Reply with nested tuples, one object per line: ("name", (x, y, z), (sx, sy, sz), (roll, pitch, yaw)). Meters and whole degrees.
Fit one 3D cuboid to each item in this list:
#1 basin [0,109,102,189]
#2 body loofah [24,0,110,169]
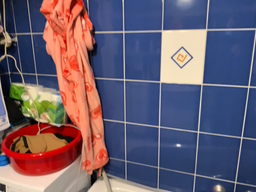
("basin", (-0.450, 0.250, 1.180), (0.460, 0.190, 0.390), (6, 17, 23))
("body loofah", (-0.330, -0.110, 1.210), (0.410, 1.030, 0.130), (5, 16, 19))
